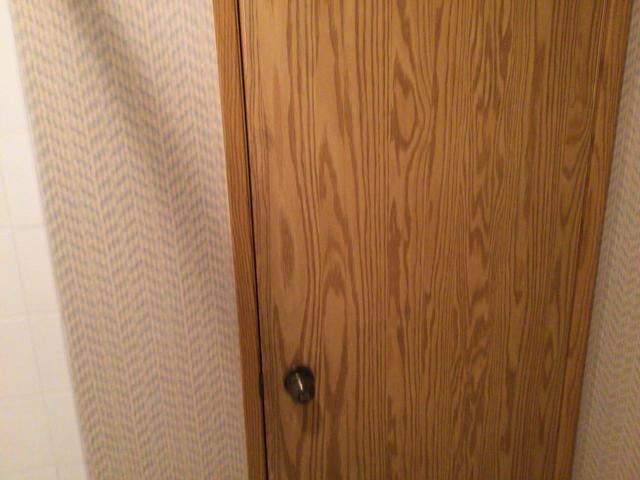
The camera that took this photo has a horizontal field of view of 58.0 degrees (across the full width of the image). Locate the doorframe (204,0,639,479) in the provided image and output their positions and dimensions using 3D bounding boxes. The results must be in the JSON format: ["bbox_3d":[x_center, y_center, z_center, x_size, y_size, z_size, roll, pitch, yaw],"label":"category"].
[{"bbox_3d":[0.230,0.250,1.190,0.860,1.800,0.040,-4,18,-14],"label":"doorframe"}]
